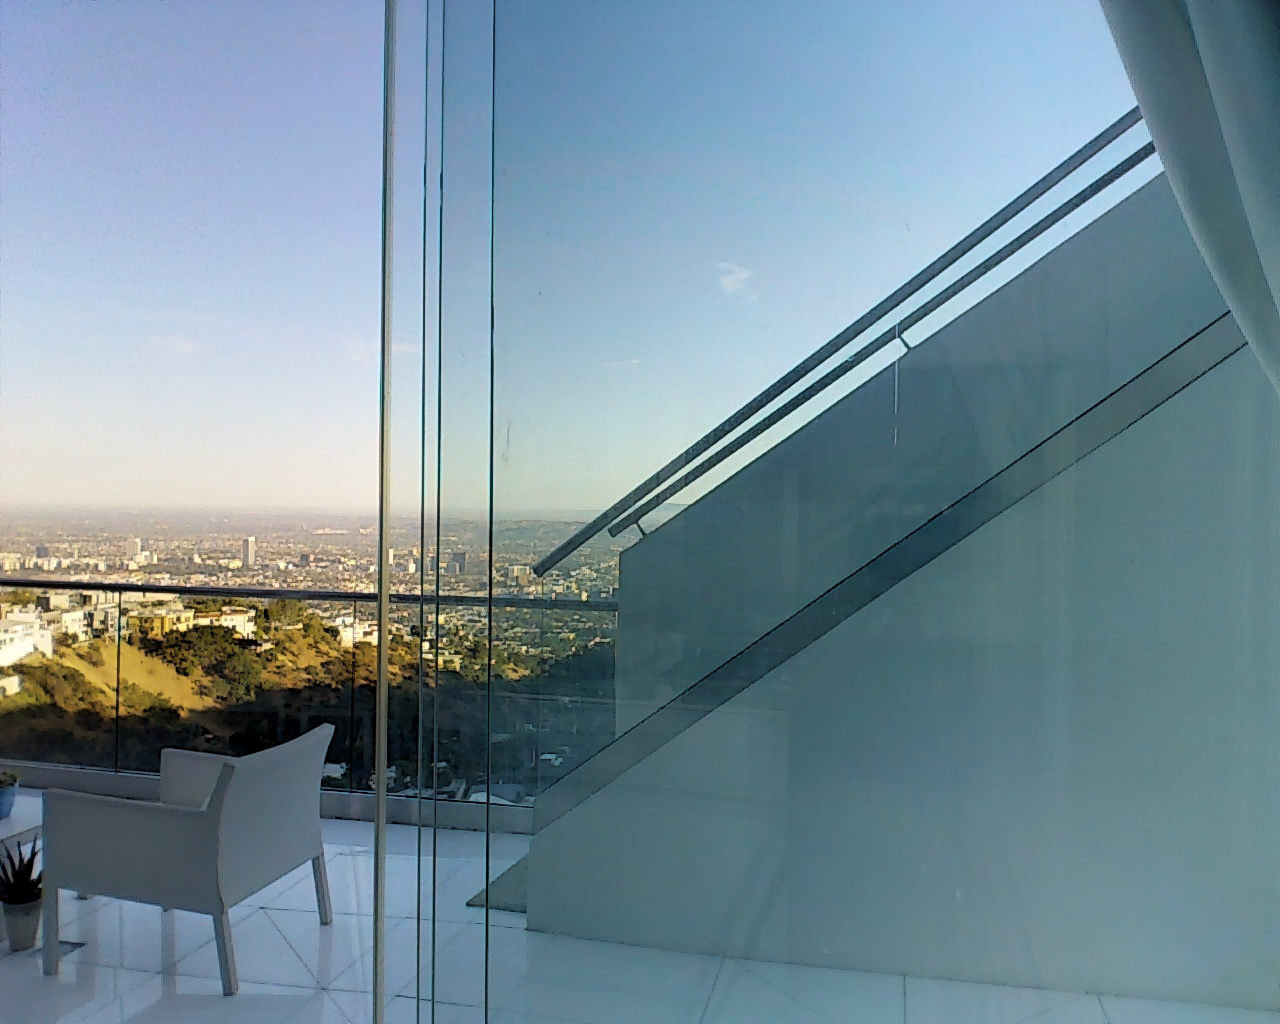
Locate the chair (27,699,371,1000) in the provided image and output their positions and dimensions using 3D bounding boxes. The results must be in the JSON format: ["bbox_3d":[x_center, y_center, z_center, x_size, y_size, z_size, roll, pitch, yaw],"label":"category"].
[{"bbox_3d":[-1.520,1.130,3.810,0.830,0.760,0.770,1,0,14],"label":"chair"}]
